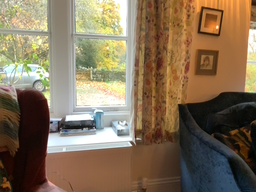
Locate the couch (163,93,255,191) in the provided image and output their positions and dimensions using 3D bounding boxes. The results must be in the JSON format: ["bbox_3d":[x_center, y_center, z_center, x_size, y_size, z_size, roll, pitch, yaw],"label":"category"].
[{"bbox_3d":[1.000,0.480,1.380,1.200,0.870,1.100,0,7,-9],"label":"couch"}]
